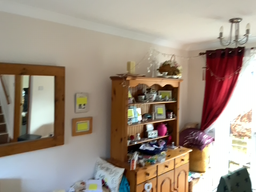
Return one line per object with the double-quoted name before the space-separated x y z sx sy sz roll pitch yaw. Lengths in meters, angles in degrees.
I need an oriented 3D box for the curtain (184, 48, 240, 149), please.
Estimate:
"curtain" 1.310 0.020 3.360 0.720 1.440 0.320 3 4 35
